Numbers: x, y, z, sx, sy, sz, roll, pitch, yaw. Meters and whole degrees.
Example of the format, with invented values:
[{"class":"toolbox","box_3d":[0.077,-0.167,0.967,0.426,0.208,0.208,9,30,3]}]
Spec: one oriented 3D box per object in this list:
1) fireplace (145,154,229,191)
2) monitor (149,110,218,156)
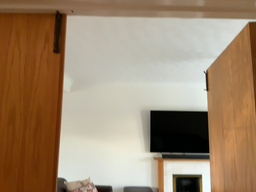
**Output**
[{"class":"fireplace","box_3d":[1.040,1.640,3.970,1.390,0.980,0.680,1,-8,-2]},{"class":"monitor","box_3d":[1.090,0.730,4.180,1.350,0.890,0.050,0,-3,-1]}]
